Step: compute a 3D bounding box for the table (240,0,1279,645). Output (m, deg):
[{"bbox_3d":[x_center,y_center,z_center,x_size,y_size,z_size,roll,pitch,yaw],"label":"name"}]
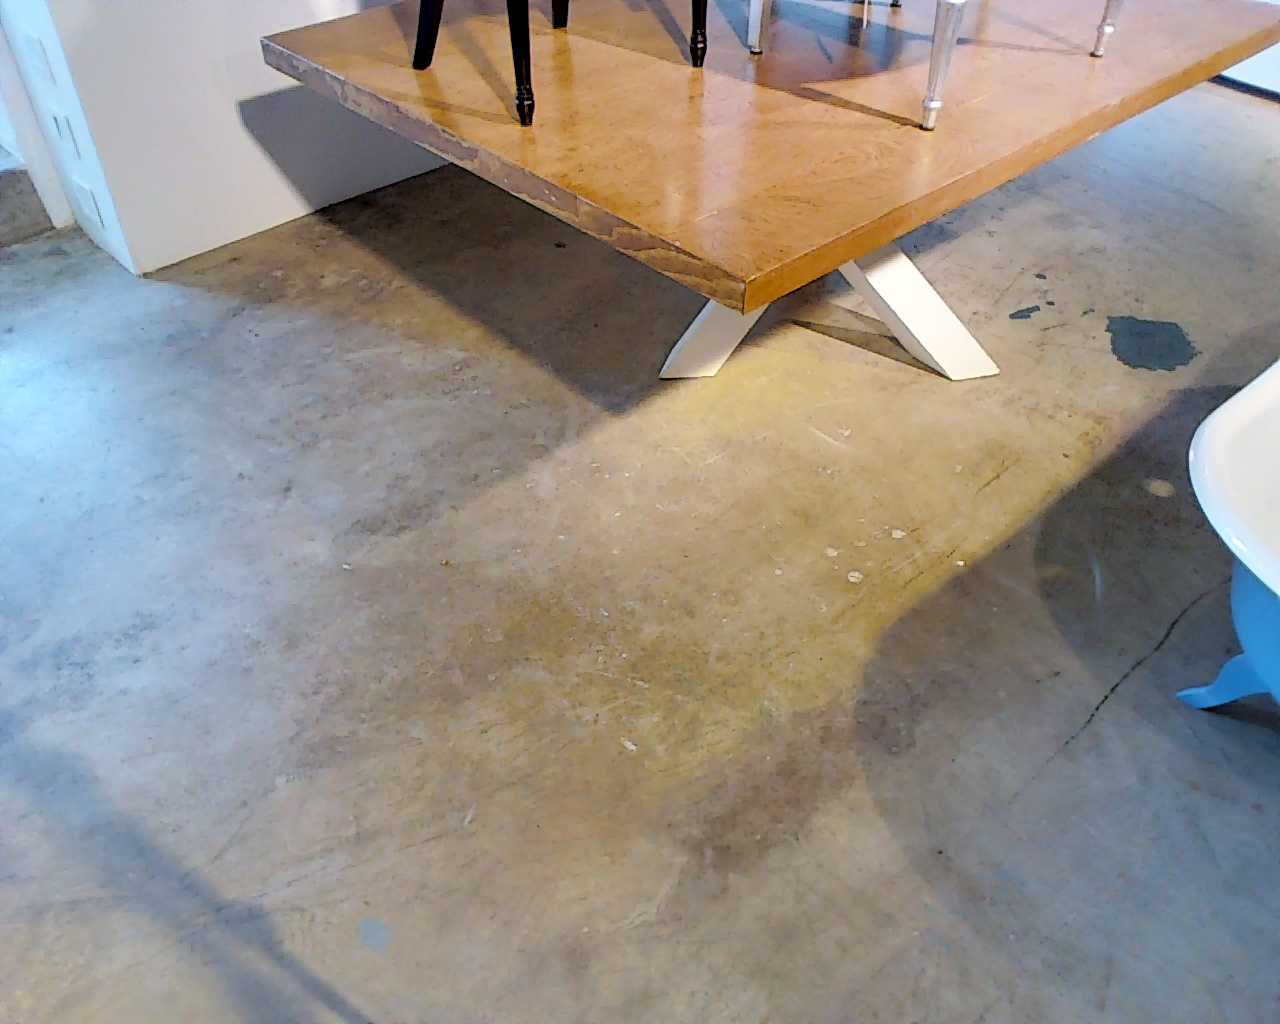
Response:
[{"bbox_3d":[0.340,-0.820,2.570,1.860,0.760,1.470,-31,51,-30],"label":"table"}]
